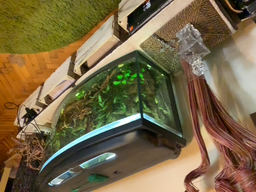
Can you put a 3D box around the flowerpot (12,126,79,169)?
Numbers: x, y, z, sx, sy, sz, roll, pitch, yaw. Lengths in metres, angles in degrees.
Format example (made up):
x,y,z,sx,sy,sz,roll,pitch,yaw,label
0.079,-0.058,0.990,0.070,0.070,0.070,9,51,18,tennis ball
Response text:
x,y,z,sx,sy,sz,roll,pitch,yaw,label
-0.730,0.480,1.910,0.340,0.170,0.420,-32,133,31,flowerpot
